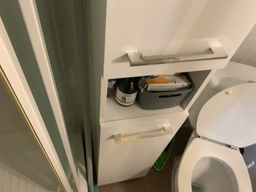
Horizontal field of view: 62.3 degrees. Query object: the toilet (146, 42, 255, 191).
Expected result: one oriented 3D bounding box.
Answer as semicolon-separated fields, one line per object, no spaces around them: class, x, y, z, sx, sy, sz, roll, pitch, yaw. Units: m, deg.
toilet;0.410;0.290;1.090;0.420;0.800;0.650;15;55;1
